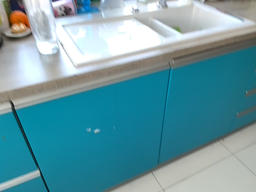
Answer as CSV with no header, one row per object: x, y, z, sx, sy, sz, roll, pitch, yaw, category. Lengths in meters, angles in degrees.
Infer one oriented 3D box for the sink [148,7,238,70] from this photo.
0.340,-0.340,1.190,0.310,0.190,0.330,-17,41,-22,sink
